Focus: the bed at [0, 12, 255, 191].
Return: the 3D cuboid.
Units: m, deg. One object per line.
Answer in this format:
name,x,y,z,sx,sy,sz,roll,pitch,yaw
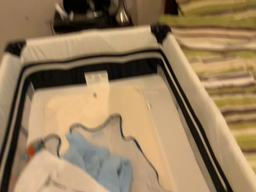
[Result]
bed,-0.090,0.300,0.890,0.750,0.730,1.090,-9,50,-6
